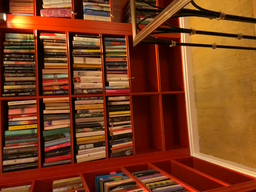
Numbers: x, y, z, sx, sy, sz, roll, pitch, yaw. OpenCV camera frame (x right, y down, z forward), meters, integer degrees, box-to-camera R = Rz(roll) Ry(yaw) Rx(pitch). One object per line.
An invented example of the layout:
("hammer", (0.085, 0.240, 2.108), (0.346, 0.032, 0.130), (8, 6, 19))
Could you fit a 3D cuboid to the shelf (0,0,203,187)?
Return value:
("shelf", (-0.420, -1.200, 2.060), (0.460, 2.060, 3.690), (166, 102, -71))
